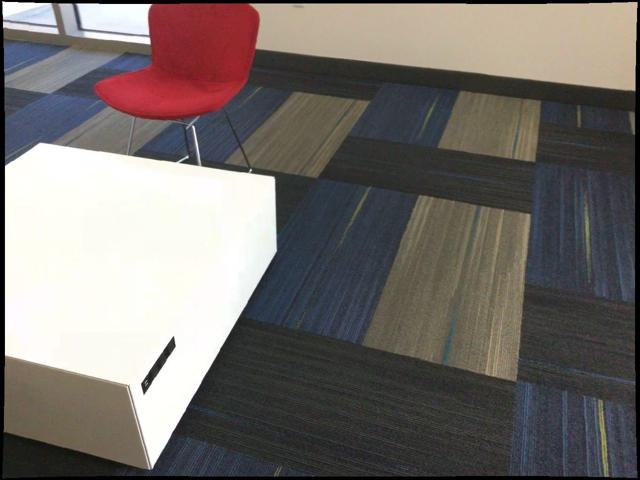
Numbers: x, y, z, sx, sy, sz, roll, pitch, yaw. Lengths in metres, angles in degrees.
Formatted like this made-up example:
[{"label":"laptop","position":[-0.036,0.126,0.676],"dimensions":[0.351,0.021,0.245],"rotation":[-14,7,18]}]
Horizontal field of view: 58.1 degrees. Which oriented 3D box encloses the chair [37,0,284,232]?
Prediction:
[{"label":"chair","position":[-0.569,-0.551,2.350],"dimensions":[0.619,0.711,0.640],"rotation":[10,39,15]}]
